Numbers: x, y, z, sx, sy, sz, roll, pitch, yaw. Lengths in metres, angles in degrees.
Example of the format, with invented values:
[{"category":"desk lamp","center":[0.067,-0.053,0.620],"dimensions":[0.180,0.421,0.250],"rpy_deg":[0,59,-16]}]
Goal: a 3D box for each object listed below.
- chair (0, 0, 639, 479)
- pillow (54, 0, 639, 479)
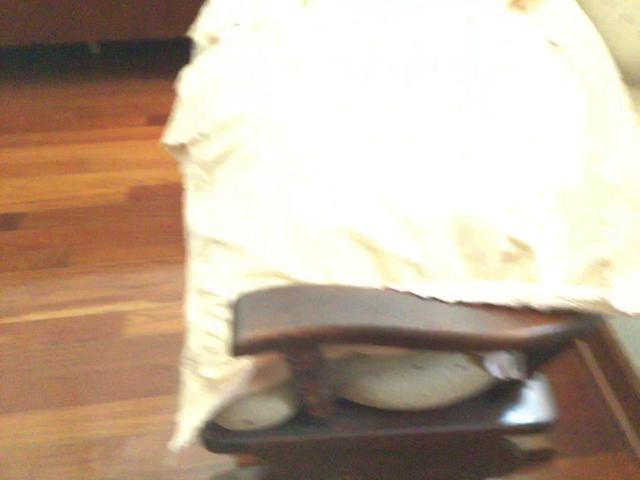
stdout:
[{"category":"chair","center":[0.210,-0.100,0.980],"dimensions":[0.950,1.000,0.850],"rpy_deg":[-7,46,-4]},{"category":"pillow","center":[0.060,-0.130,0.870],"dimensions":[0.620,0.420,0.750],"rpy_deg":[-7,46,-4]}]
